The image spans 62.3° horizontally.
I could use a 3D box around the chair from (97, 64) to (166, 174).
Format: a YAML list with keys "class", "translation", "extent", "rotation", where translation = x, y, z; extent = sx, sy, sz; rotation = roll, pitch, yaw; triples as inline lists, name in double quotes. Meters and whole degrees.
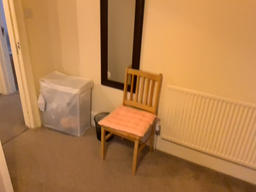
- class: "chair"
  translation: [0.030, 0.200, 2.090]
  extent: [0.450, 0.860, 0.480]
  rotation: [15, 28, 24]
